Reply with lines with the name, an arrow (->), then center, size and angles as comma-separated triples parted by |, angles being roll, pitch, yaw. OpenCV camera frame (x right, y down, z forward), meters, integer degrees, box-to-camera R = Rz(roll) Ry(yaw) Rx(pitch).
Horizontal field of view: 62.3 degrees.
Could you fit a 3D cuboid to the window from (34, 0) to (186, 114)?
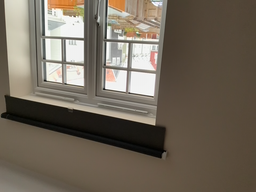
window -> -0.190, -0.520, 1.460 | 1.120, 1.140, 0.050 | 9, -165, 20
